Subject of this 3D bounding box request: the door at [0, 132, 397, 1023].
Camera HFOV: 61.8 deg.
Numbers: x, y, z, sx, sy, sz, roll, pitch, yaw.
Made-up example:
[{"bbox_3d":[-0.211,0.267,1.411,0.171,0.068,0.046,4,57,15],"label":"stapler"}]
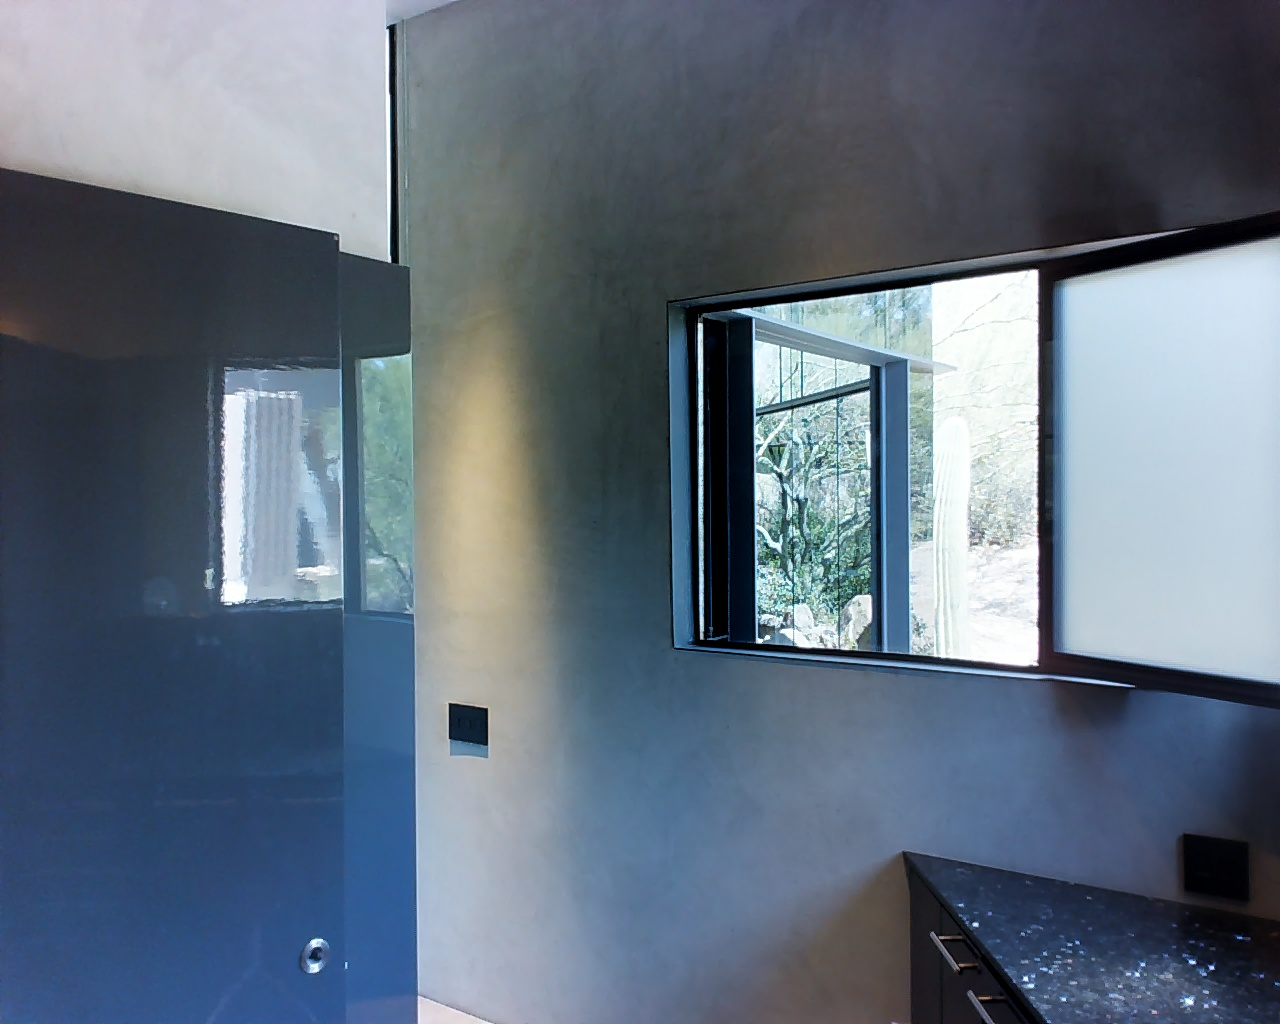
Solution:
[{"bbox_3d":[-0.790,0.500,1.800,0.810,2.140,0.070,-2,1,-45],"label":"door"}]
